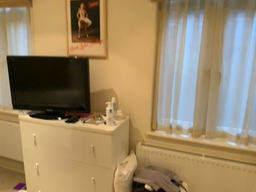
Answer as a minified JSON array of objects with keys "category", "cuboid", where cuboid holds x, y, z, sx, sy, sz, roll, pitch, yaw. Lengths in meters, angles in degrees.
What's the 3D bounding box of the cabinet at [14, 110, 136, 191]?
[{"category":"cabinet","cuboid":[-0.490,0.710,2.060,1.000,0.950,0.460,6,14,19]}]
